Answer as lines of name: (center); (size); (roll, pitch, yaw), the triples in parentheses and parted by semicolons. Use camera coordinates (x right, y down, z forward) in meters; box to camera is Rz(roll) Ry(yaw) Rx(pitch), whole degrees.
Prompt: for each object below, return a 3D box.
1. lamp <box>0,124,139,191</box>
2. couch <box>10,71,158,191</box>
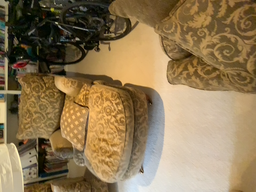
lamp: (-0.750, 0.740, 1.920); (0.820, 1.460, 0.690); (12, 99, 51)
couch: (-0.640, 0.230, 2.310); (1.770, 0.820, 0.880); (11, 99, 51)
